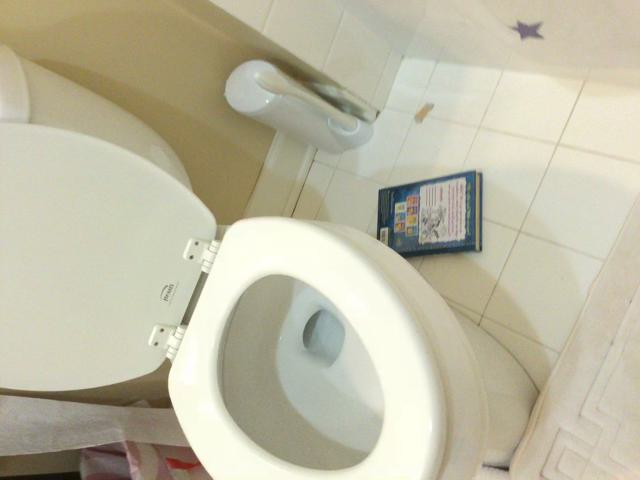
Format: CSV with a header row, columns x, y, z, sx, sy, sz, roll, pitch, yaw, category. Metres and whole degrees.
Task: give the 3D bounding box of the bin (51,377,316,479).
x,y,z,sx,sy,sz,roll,pitch,yaw,category
-0.270,0.460,1.120,0.320,0.230,0.350,17,6,-45,bin
